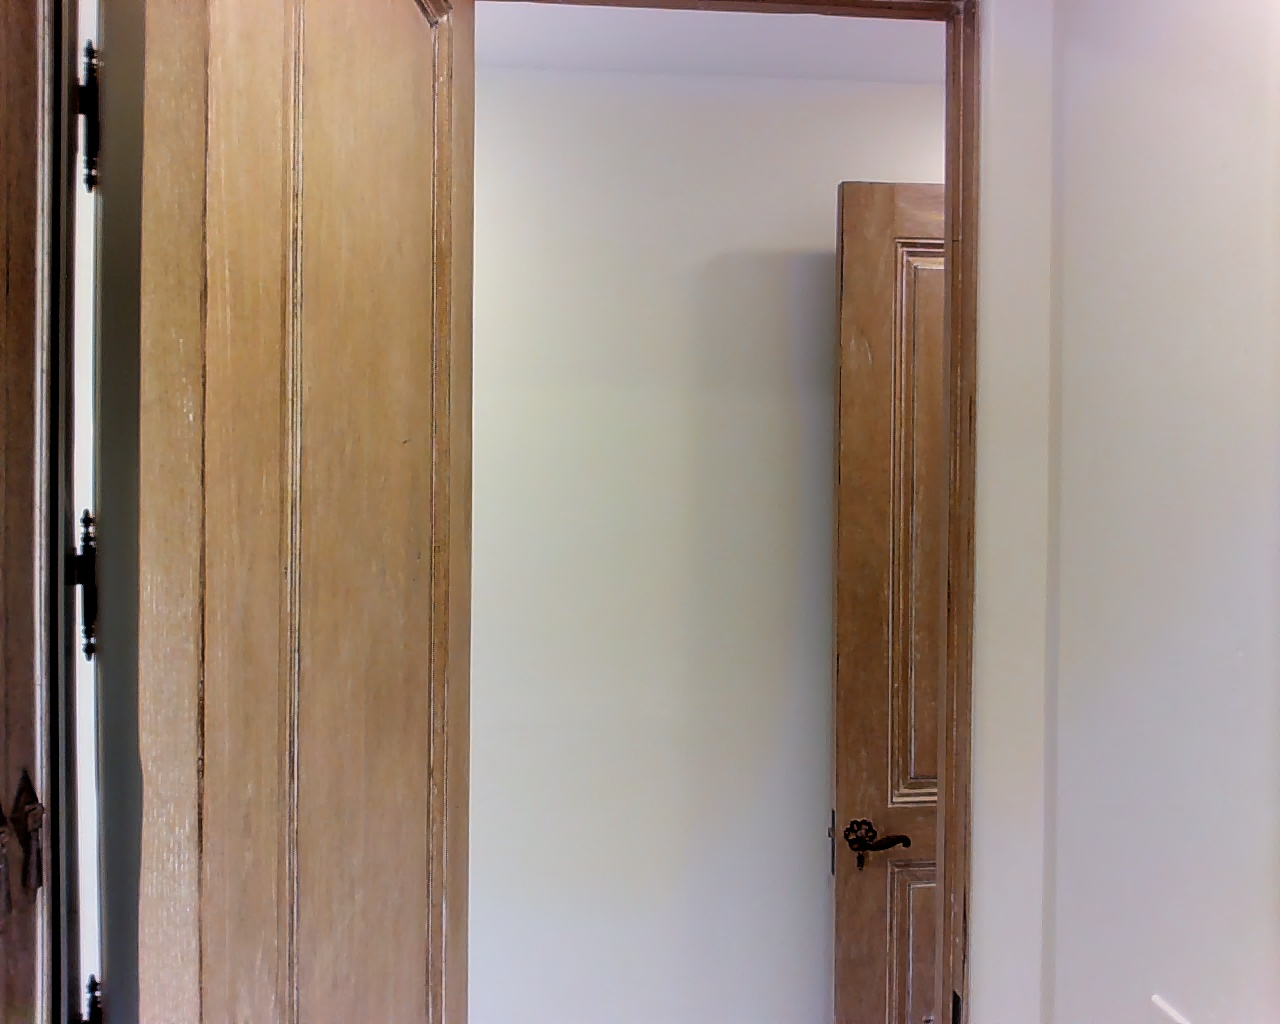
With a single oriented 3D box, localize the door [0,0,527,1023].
[{"bbox_3d":[-0.340,0.470,1.170,0.240,2.471,0.920,1,1,5],"label":"door"}]
